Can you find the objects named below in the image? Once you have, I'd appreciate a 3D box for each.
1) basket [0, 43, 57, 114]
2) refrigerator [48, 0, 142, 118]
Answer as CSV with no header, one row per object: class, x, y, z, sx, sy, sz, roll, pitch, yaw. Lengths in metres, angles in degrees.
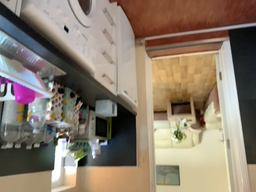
basket,-0.600,-0.050,0.910,0.400,0.180,0.390,-5,165,16
refrigerator,-0.270,-0.310,2.130,0.680,0.940,0.650,-4,165,14
